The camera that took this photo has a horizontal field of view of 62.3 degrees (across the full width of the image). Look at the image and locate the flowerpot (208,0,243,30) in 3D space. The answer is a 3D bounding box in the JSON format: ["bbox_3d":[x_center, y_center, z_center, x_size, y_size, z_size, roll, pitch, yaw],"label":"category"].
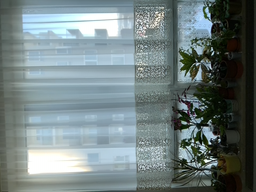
[{"bbox_3d":[0.830,-0.760,1.820,0.200,0.200,0.330,-128,37,-86],"label":"flowerpot"}]

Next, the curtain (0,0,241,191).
[{"bbox_3d":[-0.150,-0.100,1.810,0.310,2.050,1.890,-114,23,-84],"label":"curtain"}]

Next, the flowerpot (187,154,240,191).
[{"bbox_3d":[0.750,0.700,1.900,0.250,0.370,0.280,-128,37,-86],"label":"flowerpot"}]
